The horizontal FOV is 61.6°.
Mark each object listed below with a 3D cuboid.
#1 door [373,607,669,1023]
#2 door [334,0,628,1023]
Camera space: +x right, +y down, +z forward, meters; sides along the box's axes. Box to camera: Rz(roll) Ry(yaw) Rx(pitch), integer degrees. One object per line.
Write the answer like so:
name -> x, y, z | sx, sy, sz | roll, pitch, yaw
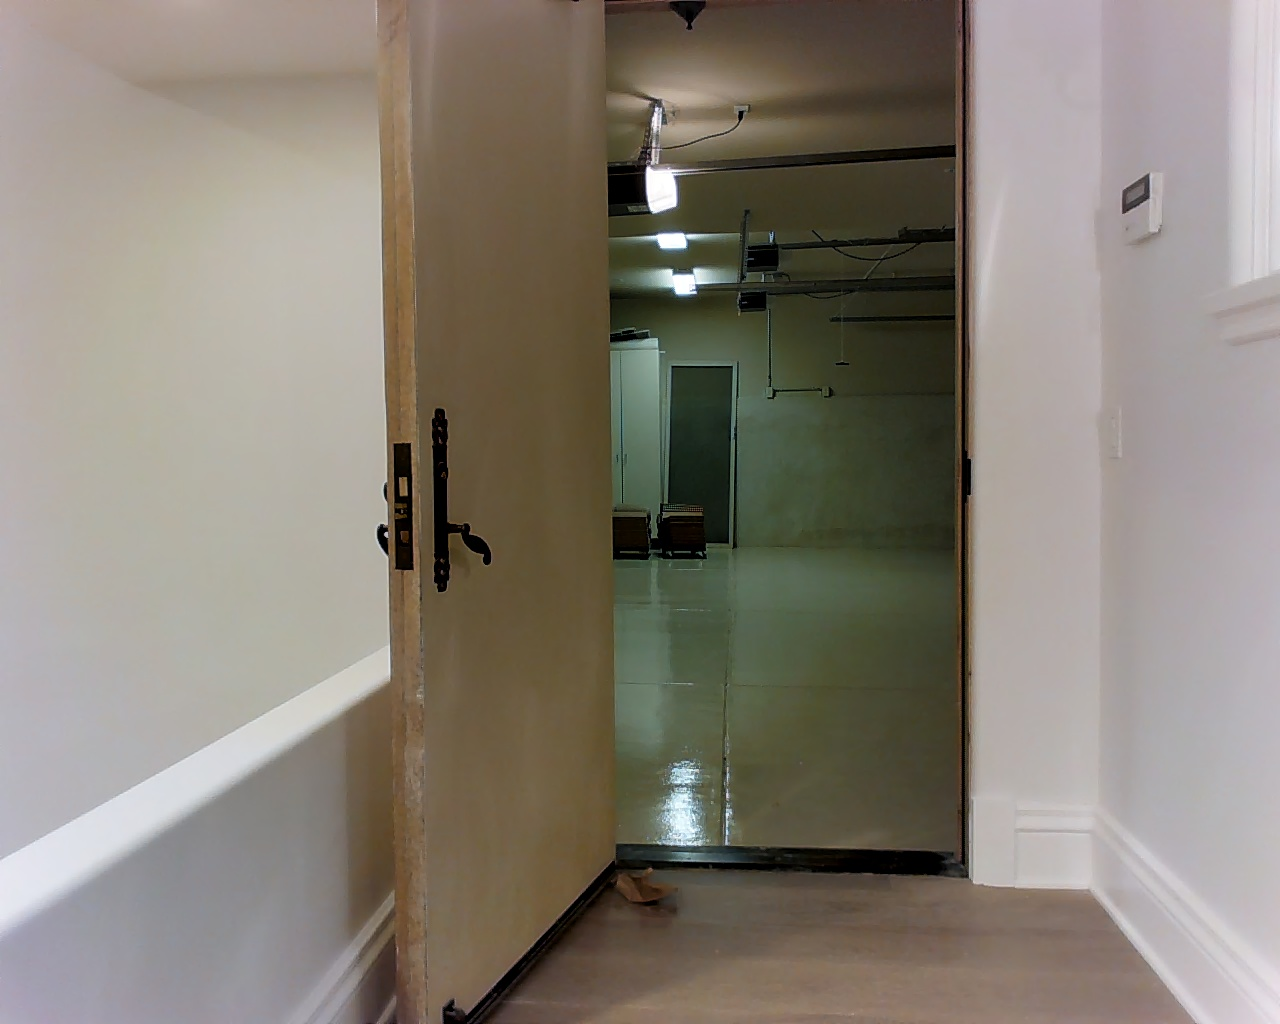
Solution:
door -> -0.160, 1.330, 2.080 | 0.120, 2.181, 0.910 | 0, 3, 22
door -> -0.250, -0.140, 2.060 | 0.110, 2.201, 0.890 | 0, 3, 20
